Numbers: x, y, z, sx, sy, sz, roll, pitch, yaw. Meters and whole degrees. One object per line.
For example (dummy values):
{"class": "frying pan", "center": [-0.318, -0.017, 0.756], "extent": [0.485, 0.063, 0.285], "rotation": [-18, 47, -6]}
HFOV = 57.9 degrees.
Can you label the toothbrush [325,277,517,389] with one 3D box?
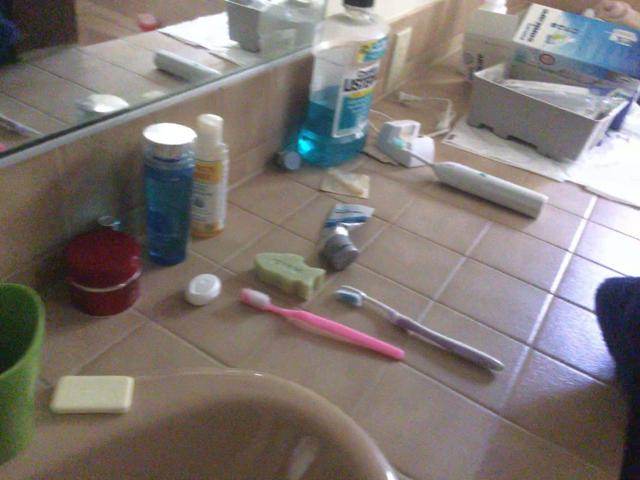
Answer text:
{"class": "toothbrush", "center": [0.100, 0.090, 0.590], "extent": [0.190, 0.010, 0.050], "rotation": [22, 37, 21]}
